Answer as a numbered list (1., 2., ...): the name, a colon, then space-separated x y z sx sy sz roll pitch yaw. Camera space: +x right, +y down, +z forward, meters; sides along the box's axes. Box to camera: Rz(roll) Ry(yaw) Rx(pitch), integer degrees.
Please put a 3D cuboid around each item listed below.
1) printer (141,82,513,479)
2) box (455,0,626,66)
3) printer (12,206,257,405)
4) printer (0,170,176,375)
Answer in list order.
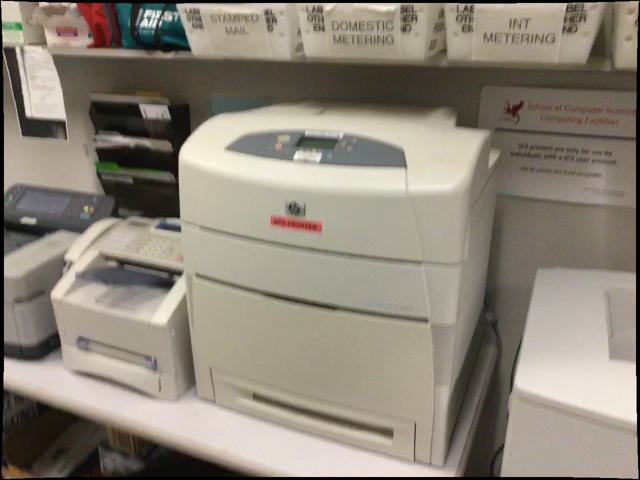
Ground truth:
1. printer: 0.070 0.010 1.340 0.619 0.651 0.610 7 23 19
2. box: 0.459 -0.461 1.210 0.279 0.150 0.380 7 23 19
3. printer: -0.449 0.140 1.490 0.439 0.321 0.360 7 23 19
4. printer: -0.828 0.050 1.700 0.549 0.351 0.530 7 23 19
